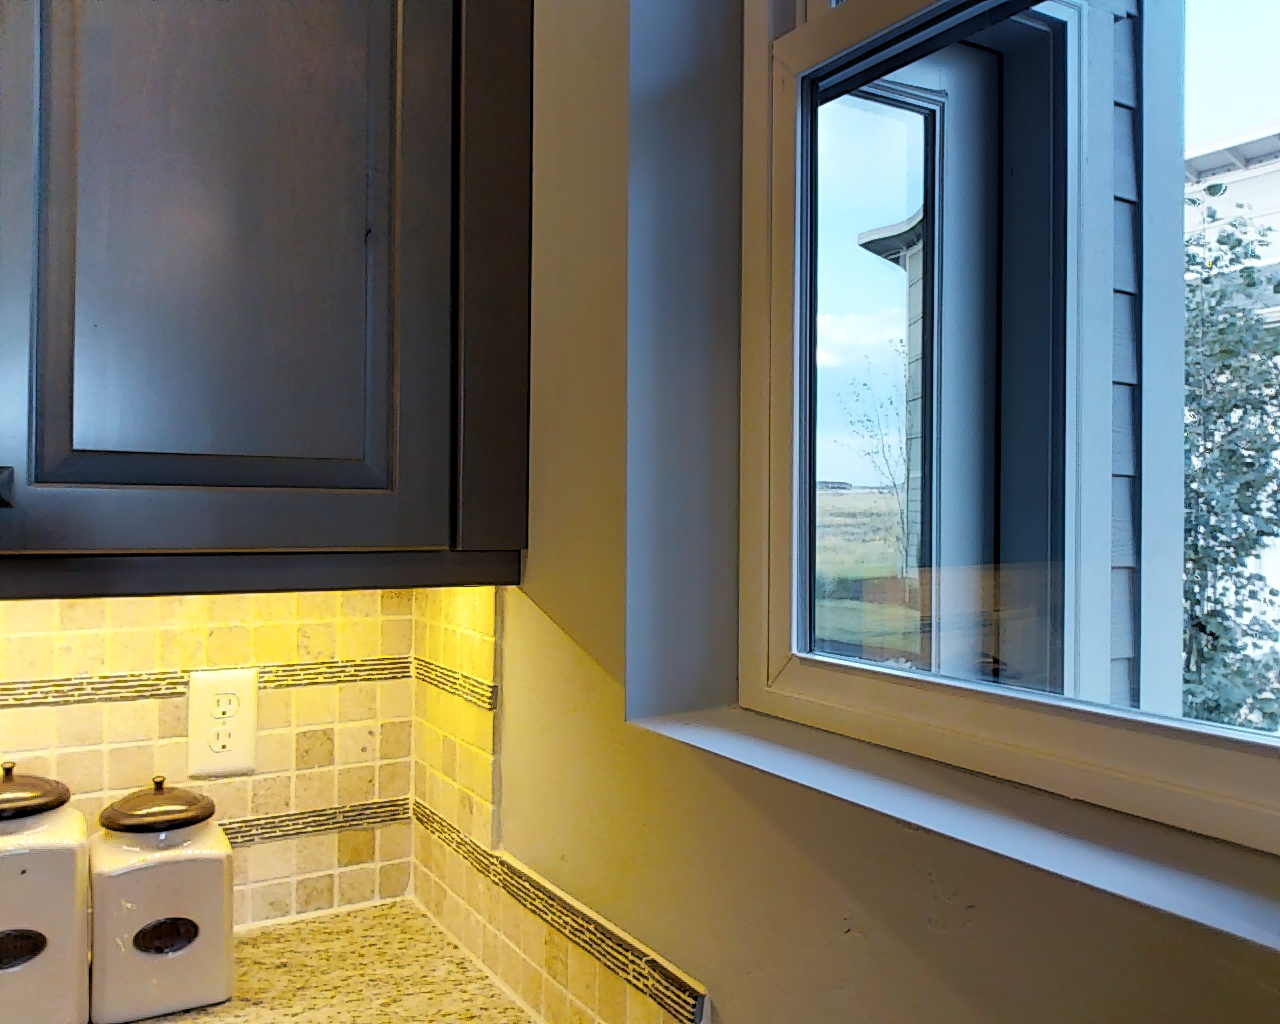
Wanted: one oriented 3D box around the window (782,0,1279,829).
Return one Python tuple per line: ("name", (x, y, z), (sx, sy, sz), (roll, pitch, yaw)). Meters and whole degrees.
("window", (0.290, -0.360, 0.740), (0.040, 1.070, 0.540), (1, 0, -32))
